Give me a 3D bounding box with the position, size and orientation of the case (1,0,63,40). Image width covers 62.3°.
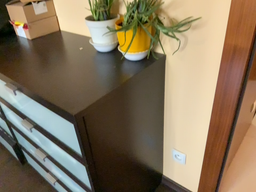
[{"bbox_3d":[-0.550,-0.480,1.220,0.220,0.220,0.200,22,42,34],"label":"case"}]
